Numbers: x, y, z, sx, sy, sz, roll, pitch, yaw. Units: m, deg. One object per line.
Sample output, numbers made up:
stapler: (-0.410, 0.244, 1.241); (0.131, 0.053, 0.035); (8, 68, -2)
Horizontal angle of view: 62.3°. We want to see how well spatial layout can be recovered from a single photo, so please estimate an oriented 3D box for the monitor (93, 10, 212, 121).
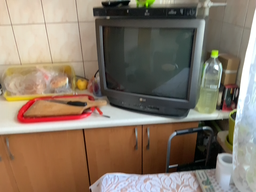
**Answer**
monitor: (0.150, -0.210, 1.160); (0.490, 0.450, 0.430); (10, 28, 20)
